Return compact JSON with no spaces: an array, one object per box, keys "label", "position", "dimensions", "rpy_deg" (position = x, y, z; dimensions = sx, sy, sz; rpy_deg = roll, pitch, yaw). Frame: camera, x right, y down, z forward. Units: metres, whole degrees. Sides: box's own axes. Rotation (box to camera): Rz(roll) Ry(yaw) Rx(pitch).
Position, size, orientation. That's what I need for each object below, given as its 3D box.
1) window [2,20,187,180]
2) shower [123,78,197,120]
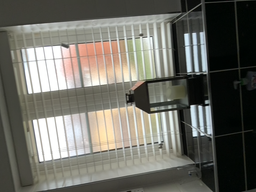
[{"label":"window","position":[-0.160,0.010,1.330],"dimensions":[0.070,1.010,0.860],"rpy_deg":[-153,56,-80]},{"label":"shower","position":[0.160,0.010,1.130],"dimensions":[0.180,0.340,0.160],"rpy_deg":[-168,71,-81]}]
